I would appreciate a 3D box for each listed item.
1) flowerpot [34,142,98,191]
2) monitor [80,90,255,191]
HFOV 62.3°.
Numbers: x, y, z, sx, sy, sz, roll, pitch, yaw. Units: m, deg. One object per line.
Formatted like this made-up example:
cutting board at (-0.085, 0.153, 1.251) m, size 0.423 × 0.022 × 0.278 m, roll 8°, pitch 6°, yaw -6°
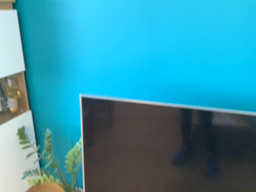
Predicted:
flowerpot at (-0.470, 0.680, 1.690) m, size 0.390 × 0.490 × 0.240 m, roll 10°, pitch 23°, yaw 18°
monitor at (0.380, 0.400, 1.060) m, size 1.240 × 0.750 × 0.090 m, roll 6°, pitch 23°, yaw 10°
